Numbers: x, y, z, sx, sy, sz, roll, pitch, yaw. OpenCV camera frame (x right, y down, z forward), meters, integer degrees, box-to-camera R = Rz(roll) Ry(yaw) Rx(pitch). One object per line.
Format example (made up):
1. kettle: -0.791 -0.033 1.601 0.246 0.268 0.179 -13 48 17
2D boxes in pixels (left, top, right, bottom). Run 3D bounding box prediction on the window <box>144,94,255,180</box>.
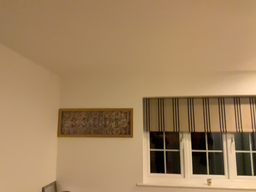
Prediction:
1. window: 1.050 0.550 2.910 1.650 1.120 0.060 -1 -9 6
